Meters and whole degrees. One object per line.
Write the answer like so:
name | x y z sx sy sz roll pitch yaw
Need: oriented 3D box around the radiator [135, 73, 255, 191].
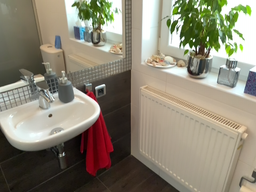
radiator | 0.360 0.340 1.440 0.170 0.780 0.760 -21 34 -32
